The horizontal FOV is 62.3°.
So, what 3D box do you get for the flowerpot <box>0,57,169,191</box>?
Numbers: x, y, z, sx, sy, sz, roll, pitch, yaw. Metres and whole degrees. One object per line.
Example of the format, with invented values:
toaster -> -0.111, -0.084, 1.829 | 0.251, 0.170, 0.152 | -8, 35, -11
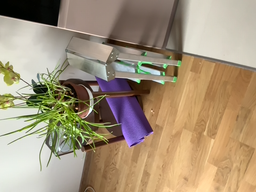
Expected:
flowerpot -> -0.390, 0.120, 1.250 | 0.640, 1.110, 0.490 | 29, 112, 37
